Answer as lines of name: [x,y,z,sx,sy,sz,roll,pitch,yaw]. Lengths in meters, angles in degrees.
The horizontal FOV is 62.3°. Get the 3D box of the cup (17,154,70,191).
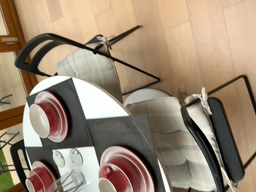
cup: [-0.500,0.480,1.250,0.270,0.110,0.240,-13,96,39]

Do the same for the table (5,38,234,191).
table: [-0.030,0.320,1.370,1.010,0.750,1.070,-9,99,38]

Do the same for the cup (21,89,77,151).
cup: [-0.390,0.120,1.040,0.230,0.080,0.270,-8,100,38]

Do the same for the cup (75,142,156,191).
cup: [-0.050,0.320,0.840,0.250,0.130,0.230,-11,97,38]
